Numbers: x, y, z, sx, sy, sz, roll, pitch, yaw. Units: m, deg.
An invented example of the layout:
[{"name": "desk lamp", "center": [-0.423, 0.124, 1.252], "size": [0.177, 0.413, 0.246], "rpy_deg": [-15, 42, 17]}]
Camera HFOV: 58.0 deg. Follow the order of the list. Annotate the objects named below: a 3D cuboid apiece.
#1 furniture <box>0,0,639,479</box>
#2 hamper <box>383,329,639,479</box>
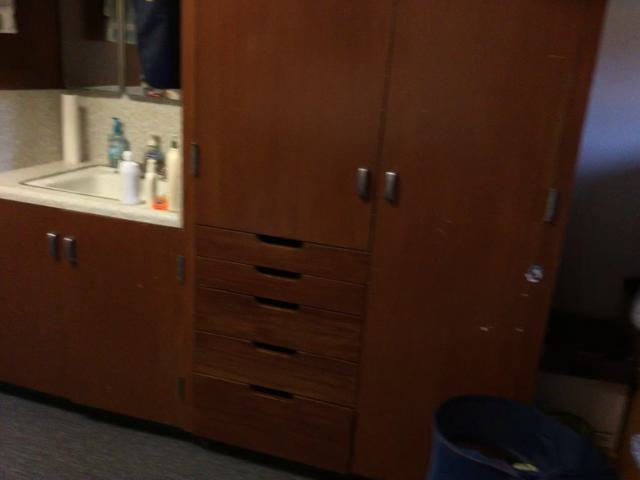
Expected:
[{"name": "furniture", "center": [-0.430, -0.560, 1.930], "size": [2.480, 2.560, 0.790], "rpy_deg": [7, 17, 13]}, {"name": "hamper", "center": [0.440, 0.660, 1.360], "size": [0.550, 0.640, 0.570], "rpy_deg": [7, 17, 13]}]
